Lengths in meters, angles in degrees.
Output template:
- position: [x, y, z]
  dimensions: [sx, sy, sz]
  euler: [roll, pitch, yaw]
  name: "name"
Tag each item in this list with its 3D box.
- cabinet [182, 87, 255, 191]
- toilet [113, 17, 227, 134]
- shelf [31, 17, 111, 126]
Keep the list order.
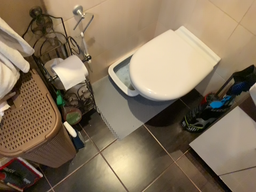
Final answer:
- position: [0.640, 0.270, 1.030]
  dimensions: [0.320, 0.710, 0.480]
  euler: [-34, 71, -18]
  name: "cabinet"
- position: [0.220, -0.110, 1.340]
  dimensions: [0.490, 0.440, 0.380]
  euler: [-34, 71, -18]
  name: "toilet"
- position: [-0.270, -0.090, 1.170]
  dimensions: [0.220, 0.560, 0.270]
  euler: [-35, 71, -18]
  name: "shelf"
